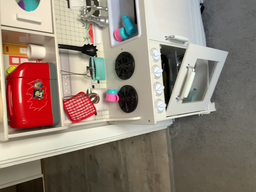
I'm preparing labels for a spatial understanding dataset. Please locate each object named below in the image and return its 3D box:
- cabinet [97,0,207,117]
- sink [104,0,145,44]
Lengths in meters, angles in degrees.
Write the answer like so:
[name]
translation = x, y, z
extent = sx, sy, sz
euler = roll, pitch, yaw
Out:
[cabinet]
translation = 0.140, -0.230, 1.080
extent = 0.270, 0.490, 0.620
euler = -4, 89, 47
[sink]
translation = -0.020, -0.360, 0.920
extent = 0.180, 0.060, 0.220
euler = -4, 89, 47
